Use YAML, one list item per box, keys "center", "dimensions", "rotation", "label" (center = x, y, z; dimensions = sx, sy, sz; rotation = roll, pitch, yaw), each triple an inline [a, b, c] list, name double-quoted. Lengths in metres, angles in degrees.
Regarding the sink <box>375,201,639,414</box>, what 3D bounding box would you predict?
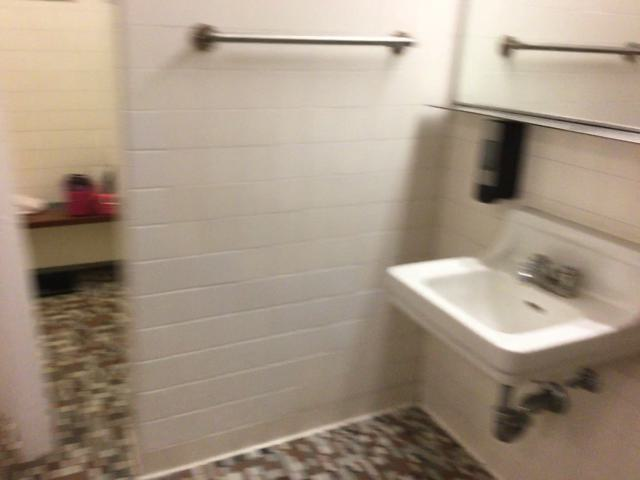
- center: [0.480, 0.120, 1.470]
  dimensions: [0.460, 0.310, 0.520]
  rotation: [-5, 18, -25]
  label: "sink"
